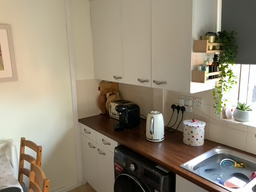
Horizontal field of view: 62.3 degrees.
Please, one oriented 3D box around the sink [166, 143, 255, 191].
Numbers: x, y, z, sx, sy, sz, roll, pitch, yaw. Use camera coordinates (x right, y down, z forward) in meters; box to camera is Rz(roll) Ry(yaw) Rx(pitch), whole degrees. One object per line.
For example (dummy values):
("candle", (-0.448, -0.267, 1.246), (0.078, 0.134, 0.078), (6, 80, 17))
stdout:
("sink", (0.600, 0.550, 1.500), (0.550, 0.170, 0.380), (-11, 15, -38))
